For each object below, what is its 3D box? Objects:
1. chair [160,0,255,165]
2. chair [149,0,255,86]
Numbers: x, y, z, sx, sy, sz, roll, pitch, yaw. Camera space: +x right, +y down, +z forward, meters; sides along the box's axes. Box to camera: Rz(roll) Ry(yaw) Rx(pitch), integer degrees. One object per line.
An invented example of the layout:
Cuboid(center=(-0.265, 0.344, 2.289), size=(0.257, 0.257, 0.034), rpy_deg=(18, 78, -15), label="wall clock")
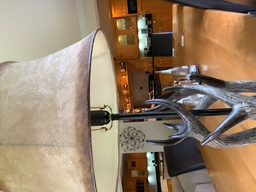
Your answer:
Cuboid(center=(0.710, -0.140, 0.830), size=(0.460, 1.110, 0.590), rpy_deg=(-85, -9, -64), label="chair")
Cuboid(center=(0.750, -0.480, 1.730), size=(0.460, 1.110, 0.590), rpy_deg=(-85, -9, -64), label="chair")
